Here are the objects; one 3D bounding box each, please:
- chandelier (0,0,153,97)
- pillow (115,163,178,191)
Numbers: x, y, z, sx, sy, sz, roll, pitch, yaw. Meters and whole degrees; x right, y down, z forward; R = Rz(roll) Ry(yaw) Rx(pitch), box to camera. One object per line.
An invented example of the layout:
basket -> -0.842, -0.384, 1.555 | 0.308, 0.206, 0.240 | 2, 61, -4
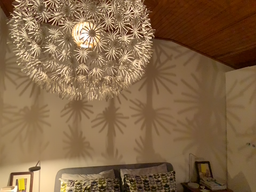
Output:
chandelier -> -0.300, -0.530, 1.460 | 0.780, 1.020, 0.820 | 0, -4, 19
pillow -> 0.220, 1.110, 2.740 | 0.680, 0.330, 0.480 | 2, -4, -17
